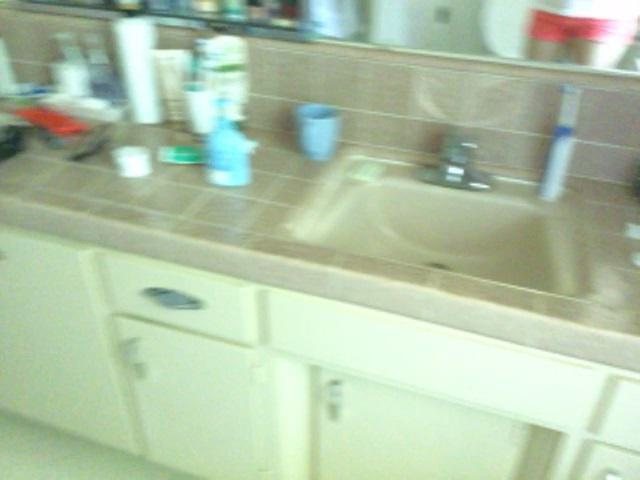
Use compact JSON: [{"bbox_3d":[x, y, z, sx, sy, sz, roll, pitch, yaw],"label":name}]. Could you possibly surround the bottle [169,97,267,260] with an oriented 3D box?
[{"bbox_3d":[-0.190,-0.120,1.130,0.120,0.270,0.130,15,35,19],"label":"bottle"}]
